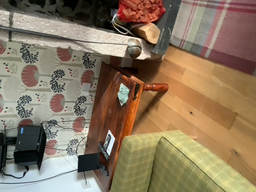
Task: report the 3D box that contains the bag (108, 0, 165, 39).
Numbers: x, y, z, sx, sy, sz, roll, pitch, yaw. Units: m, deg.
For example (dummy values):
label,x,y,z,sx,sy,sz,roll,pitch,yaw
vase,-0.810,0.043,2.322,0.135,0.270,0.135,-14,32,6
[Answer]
label,x,y,z,sx,sy,sz,roll,pitch,yaw
bag,0.060,-0.670,1.710,0.290,0.280,0.320,39,121,50
